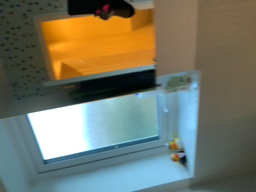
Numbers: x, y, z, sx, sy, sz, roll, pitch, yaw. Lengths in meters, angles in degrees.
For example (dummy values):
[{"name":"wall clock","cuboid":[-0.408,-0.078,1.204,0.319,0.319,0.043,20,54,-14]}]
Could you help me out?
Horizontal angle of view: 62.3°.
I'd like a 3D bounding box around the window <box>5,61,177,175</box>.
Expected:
[{"name":"window","cuboid":[-0.140,0.130,1.200,0.070,0.850,0.530,-116,18,-61]}]
